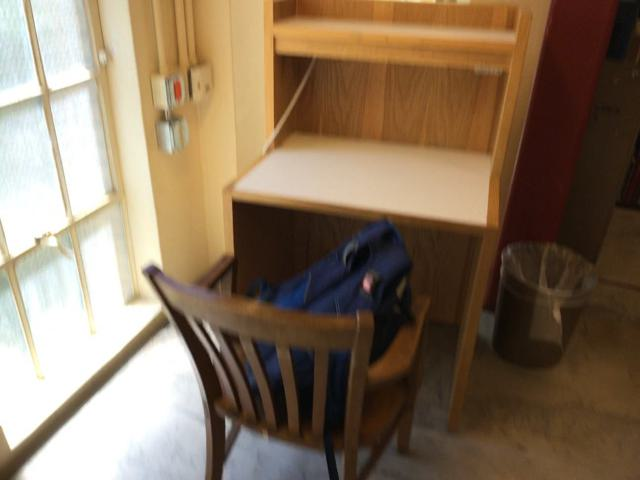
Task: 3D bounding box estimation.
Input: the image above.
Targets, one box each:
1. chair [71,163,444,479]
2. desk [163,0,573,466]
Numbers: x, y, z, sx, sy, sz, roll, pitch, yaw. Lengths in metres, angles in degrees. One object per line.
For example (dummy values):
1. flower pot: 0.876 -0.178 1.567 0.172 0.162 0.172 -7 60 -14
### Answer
1. chair: -0.060 0.350 1.380 0.560 0.860 0.590 8 30 18
2. desk: 0.190 -0.110 1.840 0.880 1.280 0.750 6 30 15
